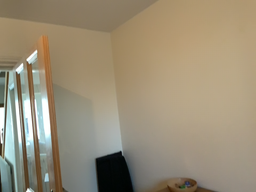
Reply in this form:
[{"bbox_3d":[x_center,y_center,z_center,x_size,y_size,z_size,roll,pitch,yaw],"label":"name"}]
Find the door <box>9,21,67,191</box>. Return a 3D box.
[{"bbox_3d":[-0.610,0.620,1.420,0.100,1.970,0.820,-3,-3,-38],"label":"door"}]
